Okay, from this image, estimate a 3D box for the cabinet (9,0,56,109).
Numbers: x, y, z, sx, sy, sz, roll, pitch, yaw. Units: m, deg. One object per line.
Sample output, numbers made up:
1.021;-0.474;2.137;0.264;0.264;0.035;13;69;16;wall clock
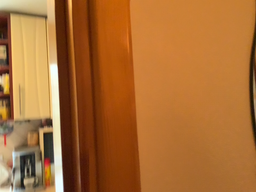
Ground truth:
-0.900;-0.360;2.000;0.340;0.950;0.290;-2;-2;-25;cabinet
